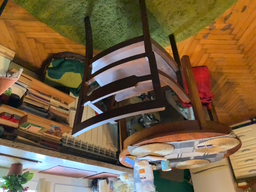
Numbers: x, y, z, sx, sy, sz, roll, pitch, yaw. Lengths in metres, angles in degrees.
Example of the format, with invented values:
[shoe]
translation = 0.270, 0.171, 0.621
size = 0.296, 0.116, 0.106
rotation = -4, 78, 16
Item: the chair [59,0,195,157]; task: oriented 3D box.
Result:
[chair]
translation = 0.000, -0.160, 1.410
size = 0.540, 0.910, 0.570
rotation = -20, 145, 23
